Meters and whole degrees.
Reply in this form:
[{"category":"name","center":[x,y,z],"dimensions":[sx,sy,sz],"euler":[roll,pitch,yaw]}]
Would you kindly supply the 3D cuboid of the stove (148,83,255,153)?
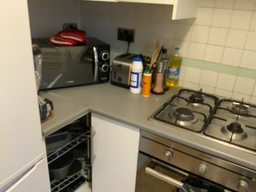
[{"category":"stove","center":[0.480,0.080,1.090],"dimensions":[0.580,0.030,0.530],"euler":[17,26,27]}]
